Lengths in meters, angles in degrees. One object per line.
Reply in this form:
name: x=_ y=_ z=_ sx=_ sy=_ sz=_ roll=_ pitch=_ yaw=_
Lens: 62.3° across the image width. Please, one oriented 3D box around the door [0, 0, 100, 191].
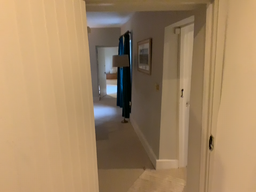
door: x=-0.340 y=0.410 z=1.050 sx=0.100 sy=1.940 sz=0.760 roll=1 pitch=12 yaw=13
